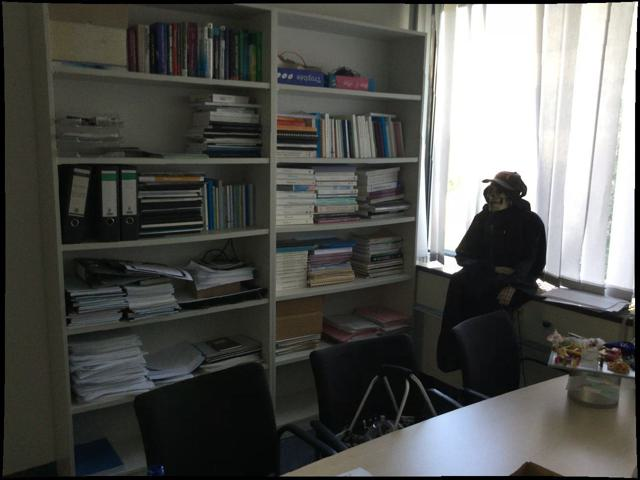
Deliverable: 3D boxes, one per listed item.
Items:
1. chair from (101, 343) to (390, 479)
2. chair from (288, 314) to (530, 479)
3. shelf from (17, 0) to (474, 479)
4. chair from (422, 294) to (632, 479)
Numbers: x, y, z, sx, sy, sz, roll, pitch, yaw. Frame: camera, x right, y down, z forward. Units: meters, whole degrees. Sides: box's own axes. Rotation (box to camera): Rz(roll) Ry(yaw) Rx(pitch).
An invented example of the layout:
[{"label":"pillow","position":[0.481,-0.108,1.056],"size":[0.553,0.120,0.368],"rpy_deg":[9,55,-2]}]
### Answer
[{"label":"chair","position":[-0.230,0.821,1.680],"size":[0.600,0.781,0.590],"rpy_deg":[-7,14,-32]},{"label":"chair","position":[0.270,0.761,2.000],"size":[0.530,0.791,0.600],"rpy_deg":[-7,14,-32]},{"label":"shelf","position":[-0.220,-0.100,2.990],"size":[2.188,2.172,0.500],"rpy_deg":[-7,14,-33]},{"label":"chair","position":[0.789,0.671,2.290],"size":[0.480,0.731,0.550],"rpy_deg":[-7,14,-33]}]
